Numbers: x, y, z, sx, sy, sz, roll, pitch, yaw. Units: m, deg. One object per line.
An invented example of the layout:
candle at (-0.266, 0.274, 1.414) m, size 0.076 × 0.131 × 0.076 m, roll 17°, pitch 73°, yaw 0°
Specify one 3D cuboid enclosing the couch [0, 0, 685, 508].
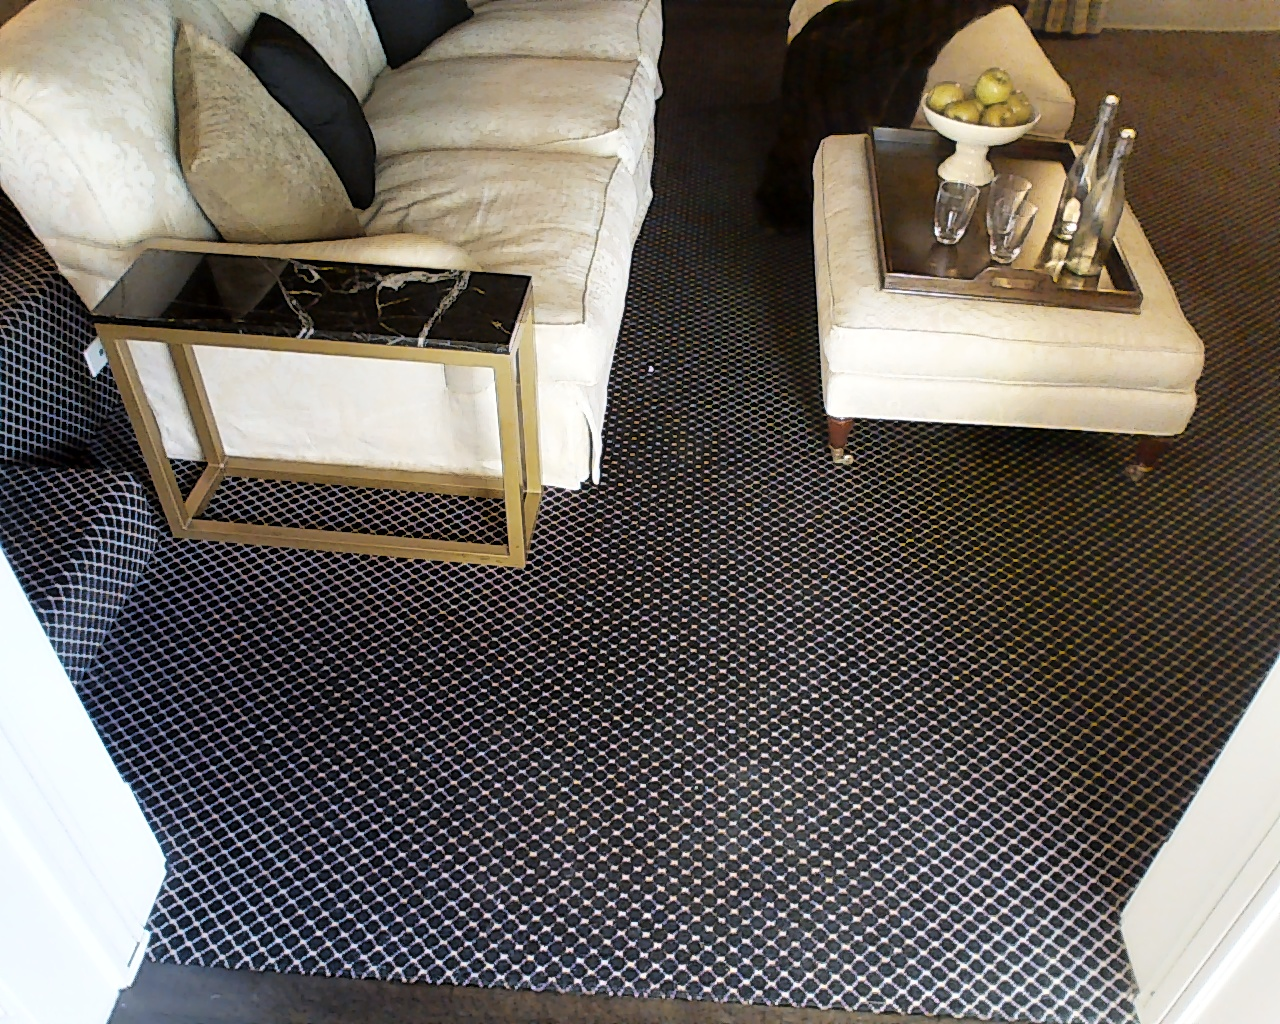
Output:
couch at (-0.610, -1.260, 3.050) m, size 1.360 × 0.920 × 2.620 m, roll 3°, pitch 42°, yaw 3°
